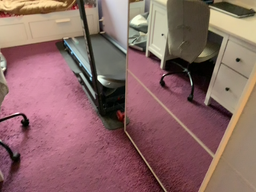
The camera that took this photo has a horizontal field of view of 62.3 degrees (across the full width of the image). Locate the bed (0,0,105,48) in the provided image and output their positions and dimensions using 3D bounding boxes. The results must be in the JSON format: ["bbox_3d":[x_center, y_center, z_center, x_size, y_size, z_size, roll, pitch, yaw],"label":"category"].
[{"bbox_3d":[-1.550,-1.240,3.190,2.140,0.490,1.040,-16,42,-22],"label":"bed"}]
